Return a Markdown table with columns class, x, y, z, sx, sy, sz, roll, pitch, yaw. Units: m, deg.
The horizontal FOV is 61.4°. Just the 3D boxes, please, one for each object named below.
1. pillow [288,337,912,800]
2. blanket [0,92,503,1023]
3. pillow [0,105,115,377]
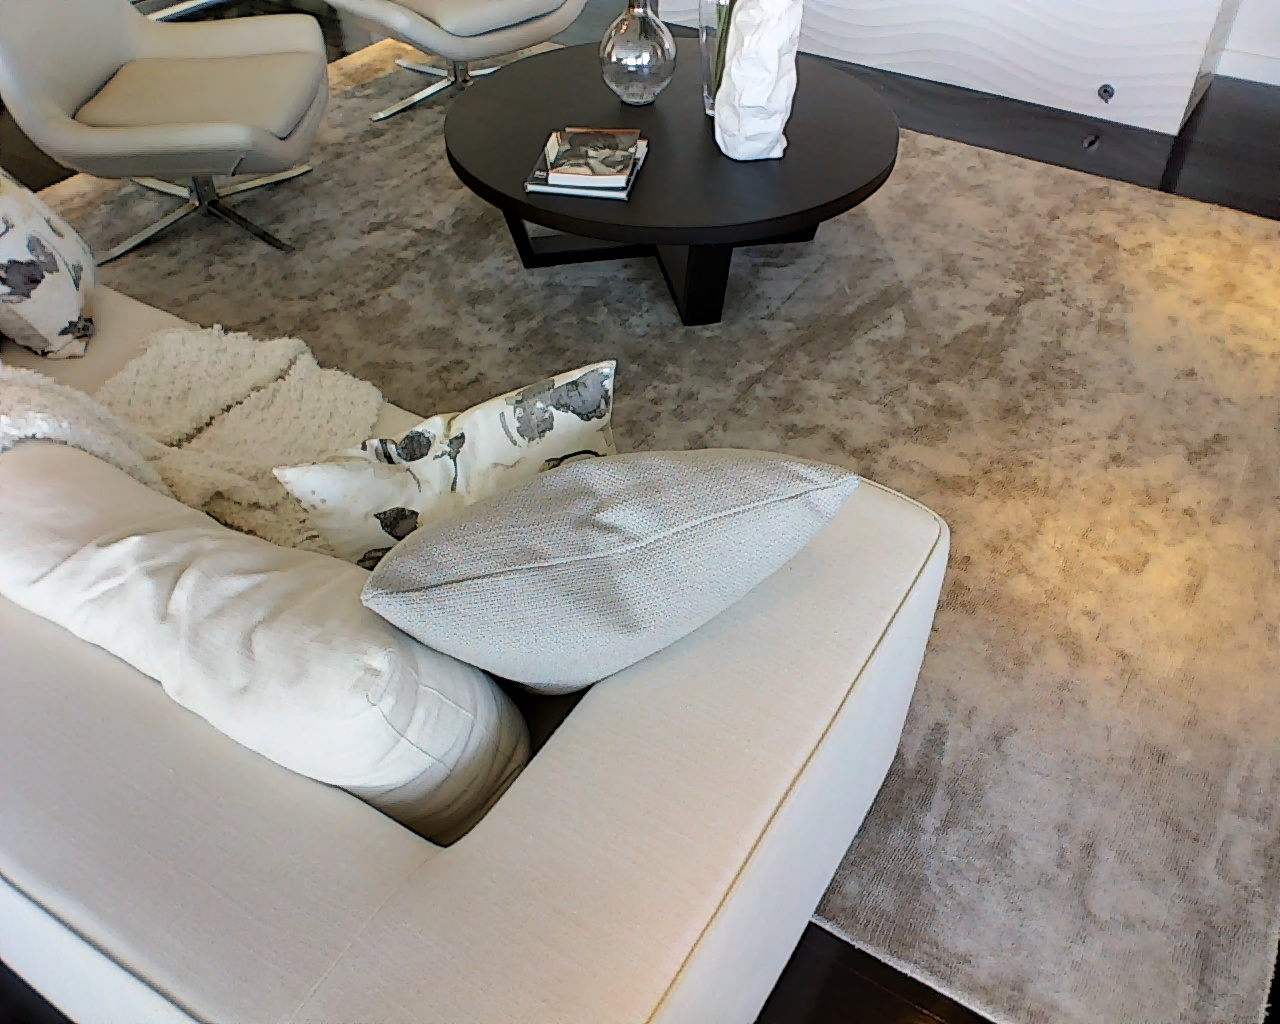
| class | x | y | z | sx | sy | sz | roll | pitch | yaw |
| --- | --- | --- | --- | --- | --- | --- | --- | --- | --- |
| pillow | -0.050 | 0.040 | 1.260 | 0.610 | 0.230 | 0.320 | -16 | 45 | -17 |
| blanket | -0.880 | -0.030 | 1.740 | 0.690 | 0.700 | 1.380 | 15 | 45 | 16 |
| pillow | -1.300 | -0.540 | 2.120 | 0.290 | 0.440 | 0.530 | -30 | 28 | -14 |
